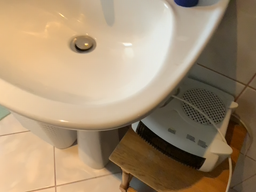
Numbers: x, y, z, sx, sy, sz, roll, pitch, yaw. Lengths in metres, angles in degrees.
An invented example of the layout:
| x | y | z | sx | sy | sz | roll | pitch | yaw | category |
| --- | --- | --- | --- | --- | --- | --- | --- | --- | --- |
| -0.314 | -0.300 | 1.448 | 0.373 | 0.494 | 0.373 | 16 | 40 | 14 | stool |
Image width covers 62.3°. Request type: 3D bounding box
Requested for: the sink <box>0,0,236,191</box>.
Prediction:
| x | y | z | sx | sy | sz | roll | pitch | yaw | category |
| --- | --- | --- | --- | --- | --- | --- | --- | --- | --- |
| -0.130 | -0.150 | 0.460 | 0.570 | 0.190 | 0.430 | 28 | 57 | 15 | sink |
